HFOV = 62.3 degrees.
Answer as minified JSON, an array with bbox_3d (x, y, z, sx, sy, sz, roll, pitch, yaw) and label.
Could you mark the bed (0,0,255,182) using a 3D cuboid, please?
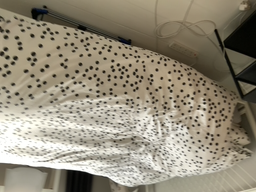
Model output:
[{"bbox_3d":[-0.410,0.170,1.800,2.230,0.590,1.780,13,144,-22],"label":"bed"}]
